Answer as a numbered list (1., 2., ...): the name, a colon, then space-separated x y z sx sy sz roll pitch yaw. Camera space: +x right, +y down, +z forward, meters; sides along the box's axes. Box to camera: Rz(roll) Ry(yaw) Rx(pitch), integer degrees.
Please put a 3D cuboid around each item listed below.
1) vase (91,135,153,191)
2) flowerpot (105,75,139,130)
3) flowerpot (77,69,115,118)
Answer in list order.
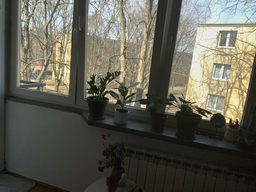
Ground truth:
1. vase: -0.040 0.560 1.740 0.380 0.310 0.330 11 12 17
2. flowerpot: -0.050 0.050 1.840 0.210 0.430 0.140 11 12 17
3. flowerpot: -0.280 -0.030 1.880 0.250 0.380 0.170 11 12 17
